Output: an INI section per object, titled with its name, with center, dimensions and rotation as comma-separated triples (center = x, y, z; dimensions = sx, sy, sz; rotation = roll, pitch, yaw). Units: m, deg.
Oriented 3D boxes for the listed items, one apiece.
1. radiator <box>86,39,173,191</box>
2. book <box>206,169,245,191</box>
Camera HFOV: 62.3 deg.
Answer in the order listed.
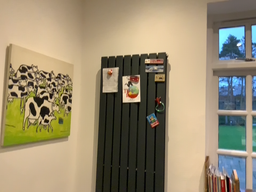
[radiator]
center = -0.010, 0.530, 1.640
dimensions = 0.650, 1.890, 0.090
rotation = 1, -4, 21
[book]
center = 0.670, 0.670, 1.480
dimensions = 0.240, 0.250, 0.160
rotation = 1, -4, 20
